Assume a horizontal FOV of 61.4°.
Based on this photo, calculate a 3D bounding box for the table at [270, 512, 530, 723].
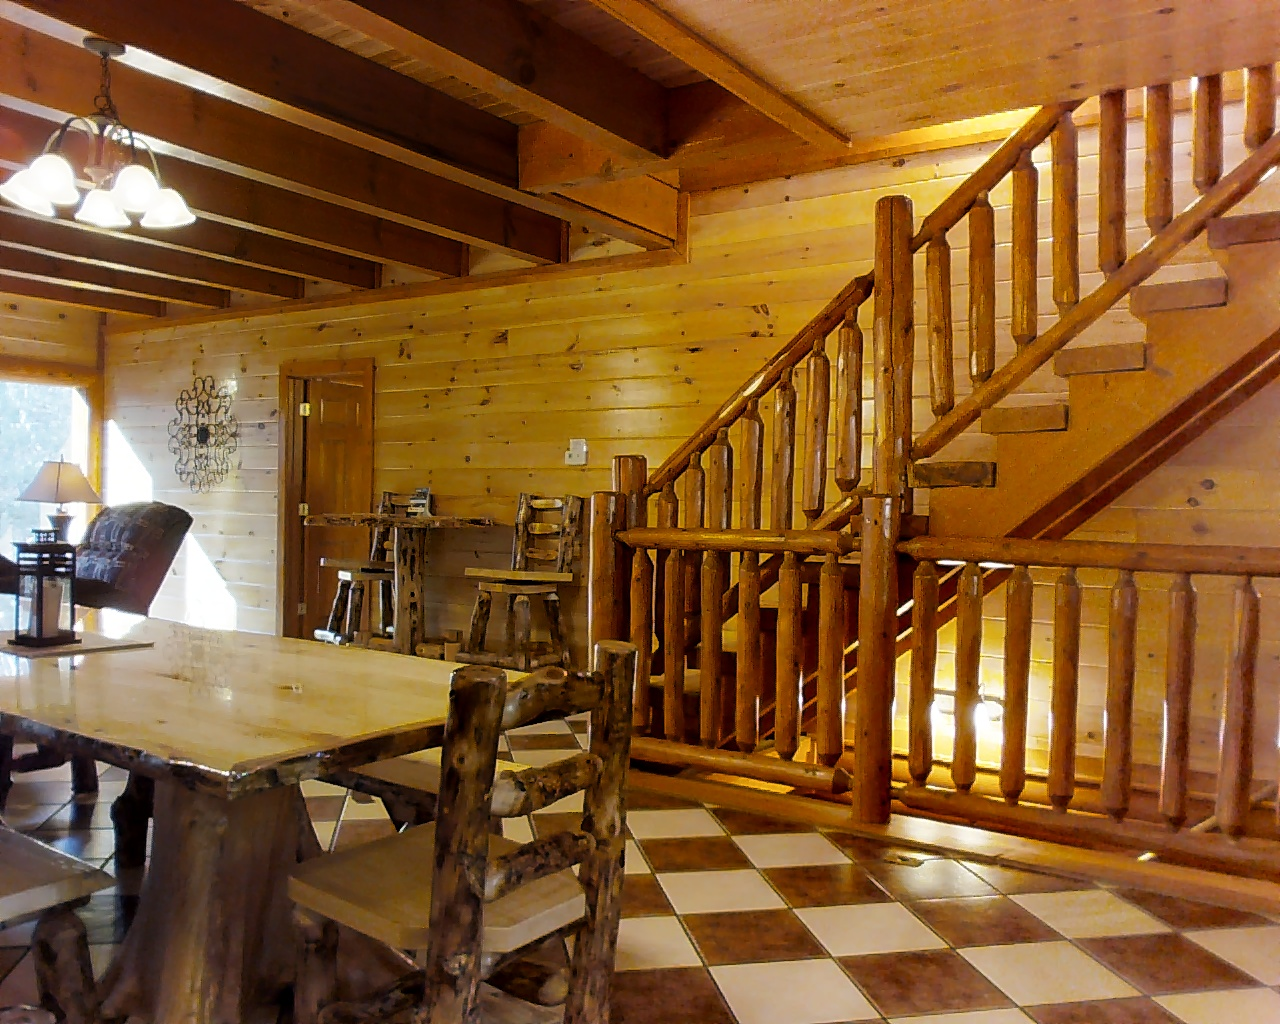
[{"bbox_3d":[-1.410,0.560,6.410,1.020,1.090,1.090,1,0,35],"label":"table"}]

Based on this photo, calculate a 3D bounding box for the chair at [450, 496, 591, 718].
[{"bbox_3d":[-0.680,0.510,6.190,0.500,1.190,0.610,1,0,35],"label":"chair"}]

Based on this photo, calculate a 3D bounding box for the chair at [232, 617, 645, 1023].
[{"bbox_3d":[-0.390,0.690,2.100,0.610,0.890,0.490,1,0,35],"label":"chair"}]
